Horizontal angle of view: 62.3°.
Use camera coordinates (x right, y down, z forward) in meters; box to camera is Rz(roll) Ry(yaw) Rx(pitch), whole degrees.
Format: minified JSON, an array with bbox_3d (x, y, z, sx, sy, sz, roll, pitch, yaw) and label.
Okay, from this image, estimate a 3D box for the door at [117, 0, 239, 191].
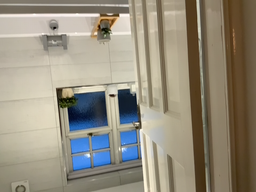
[{"bbox_3d":[0.130,-0.120,1.060,0.110,2.130,1.010,-5,-174,-12],"label":"door"}]
